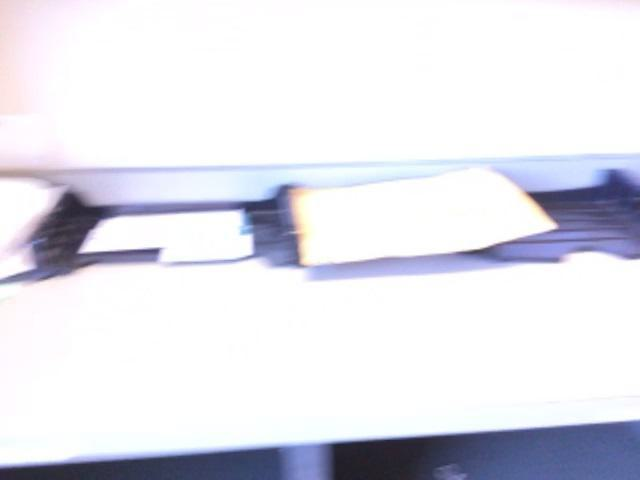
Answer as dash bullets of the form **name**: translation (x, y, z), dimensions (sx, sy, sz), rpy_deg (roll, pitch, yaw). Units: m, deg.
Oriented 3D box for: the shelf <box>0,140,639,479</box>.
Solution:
- **shelf**: translation (0.670, 0.400, 1.090), dimensions (3.020, 1.040, 0.640), rpy_deg (-3, 23, -2)
